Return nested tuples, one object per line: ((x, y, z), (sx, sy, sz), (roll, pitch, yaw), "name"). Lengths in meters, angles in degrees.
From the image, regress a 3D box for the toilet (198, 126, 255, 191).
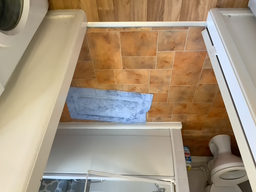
((1.040, 0.830, 2.130), (0.400, 0.800, 0.690), (-1, 140, 4), "toilet")
